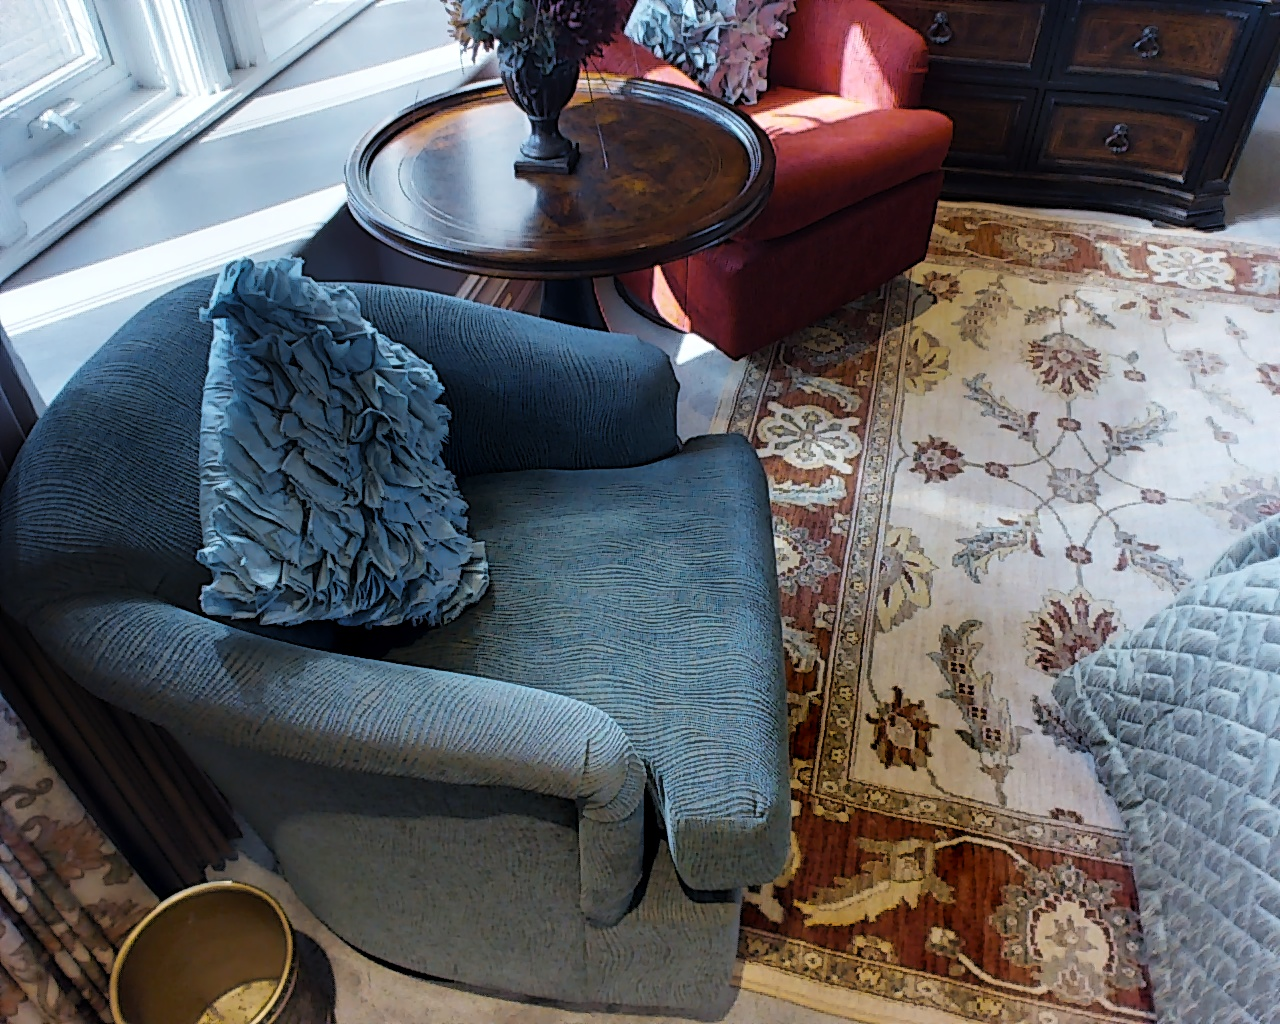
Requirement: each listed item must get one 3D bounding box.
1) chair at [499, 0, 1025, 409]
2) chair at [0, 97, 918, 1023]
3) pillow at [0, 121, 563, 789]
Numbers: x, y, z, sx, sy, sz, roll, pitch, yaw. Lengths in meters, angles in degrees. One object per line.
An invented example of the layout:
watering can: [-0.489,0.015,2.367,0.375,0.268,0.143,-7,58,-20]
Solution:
chair: [0.260,-0.930,2.560,0.870,0.840,0.770,-28,50,-27]
chair: [-0.190,0.080,1.390,0.790,0.880,0.890,1,43,1]
pillow: [-0.340,-0.100,1.240,0.310,0.430,0.640,10,44,10]
